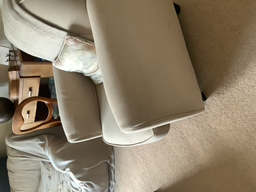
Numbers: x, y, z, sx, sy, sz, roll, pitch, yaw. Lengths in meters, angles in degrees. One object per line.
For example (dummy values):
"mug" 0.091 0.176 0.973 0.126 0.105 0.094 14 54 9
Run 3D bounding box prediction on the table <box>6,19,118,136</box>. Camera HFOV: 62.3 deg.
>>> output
"table" -0.680 -0.150 2.010 0.510 0.760 0.890 60 139 29
